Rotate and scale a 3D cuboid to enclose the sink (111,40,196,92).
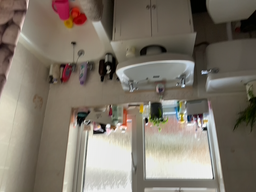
[{"bbox_3d":[0.200,-0.210,1.650,0.580,0.200,0.360,-4,158,11],"label":"sink"}]
